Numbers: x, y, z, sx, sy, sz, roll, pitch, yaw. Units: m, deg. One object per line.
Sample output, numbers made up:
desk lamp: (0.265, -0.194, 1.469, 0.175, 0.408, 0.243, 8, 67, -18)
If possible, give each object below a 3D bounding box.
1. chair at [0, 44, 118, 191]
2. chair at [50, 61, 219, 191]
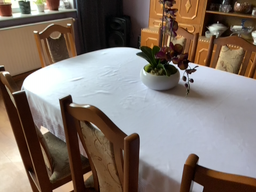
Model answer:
chair: (-0.360, 0.250, 1.230, 0.470, 0.950, 0.370, -22, 37, -36)
chair: (0.030, 0.390, 1.010, 0.410, 0.940, 0.480, 24, 36, 35)
